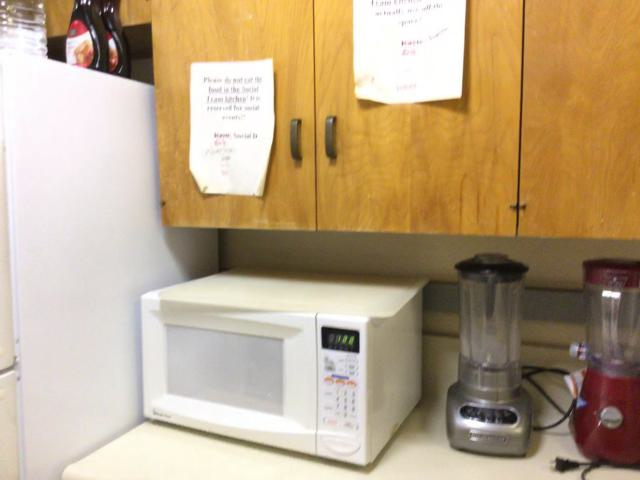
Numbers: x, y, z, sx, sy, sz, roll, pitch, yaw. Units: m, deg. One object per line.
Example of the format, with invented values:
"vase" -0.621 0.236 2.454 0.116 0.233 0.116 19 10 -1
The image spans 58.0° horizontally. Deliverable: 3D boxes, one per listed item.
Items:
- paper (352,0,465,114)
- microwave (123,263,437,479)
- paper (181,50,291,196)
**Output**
"paper" 0.160 -0.380 1.060 0.200 0.280 0.040 2 6 23
"microwave" -0.070 0.250 1.340 0.590 0.310 0.420 2 6 23
"paper" -0.180 -0.240 1.230 0.240 0.290 0.040 2 6 23
